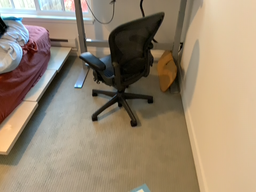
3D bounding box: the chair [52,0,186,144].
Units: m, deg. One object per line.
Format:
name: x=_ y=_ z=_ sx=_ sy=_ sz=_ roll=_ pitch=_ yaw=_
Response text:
chair: x=-0.090 y=-0.280 z=1.940 sx=0.730 sy=0.920 sz=0.760 roll=-28 pitch=47 yaw=-32
